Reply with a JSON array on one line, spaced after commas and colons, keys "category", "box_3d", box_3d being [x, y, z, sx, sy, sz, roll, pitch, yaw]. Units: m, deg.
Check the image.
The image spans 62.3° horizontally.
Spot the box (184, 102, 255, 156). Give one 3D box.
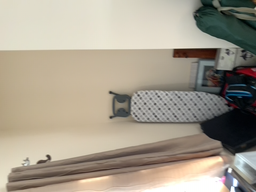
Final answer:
[{"category": "box", "box_3d": [0.950, 0.260, 1.970, 0.620, 0.600, 0.240, -137, 45, -72]}]
